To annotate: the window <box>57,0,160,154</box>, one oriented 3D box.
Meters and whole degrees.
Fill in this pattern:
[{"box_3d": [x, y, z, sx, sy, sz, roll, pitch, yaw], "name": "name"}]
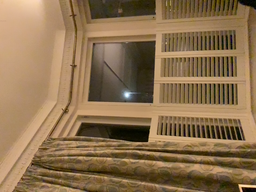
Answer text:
[{"box_3d": [-0.100, -0.970, 3.050, 0.570, 1.010, 3.380, 57, -144, -68], "name": "window"}]
